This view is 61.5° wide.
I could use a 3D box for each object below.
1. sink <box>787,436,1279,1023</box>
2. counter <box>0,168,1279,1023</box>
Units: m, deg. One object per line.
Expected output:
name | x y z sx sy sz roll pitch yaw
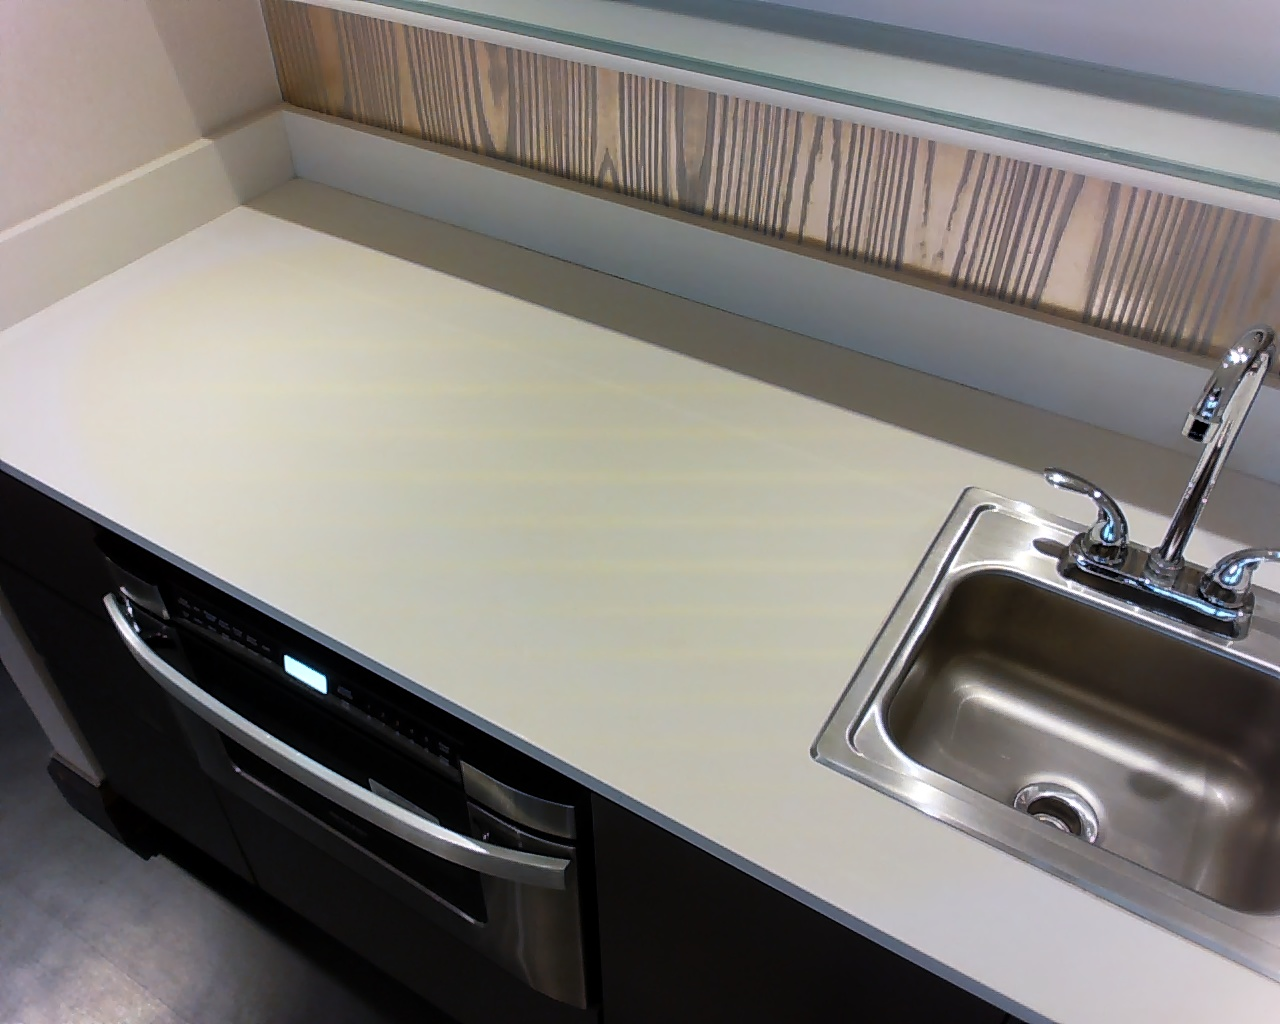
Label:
sink | 0.440 0.190 0.950 0.460 0.180 0.430 22 47 23
counter | 0.280 0.080 0.980 2.290 0.040 0.680 22 47 23
